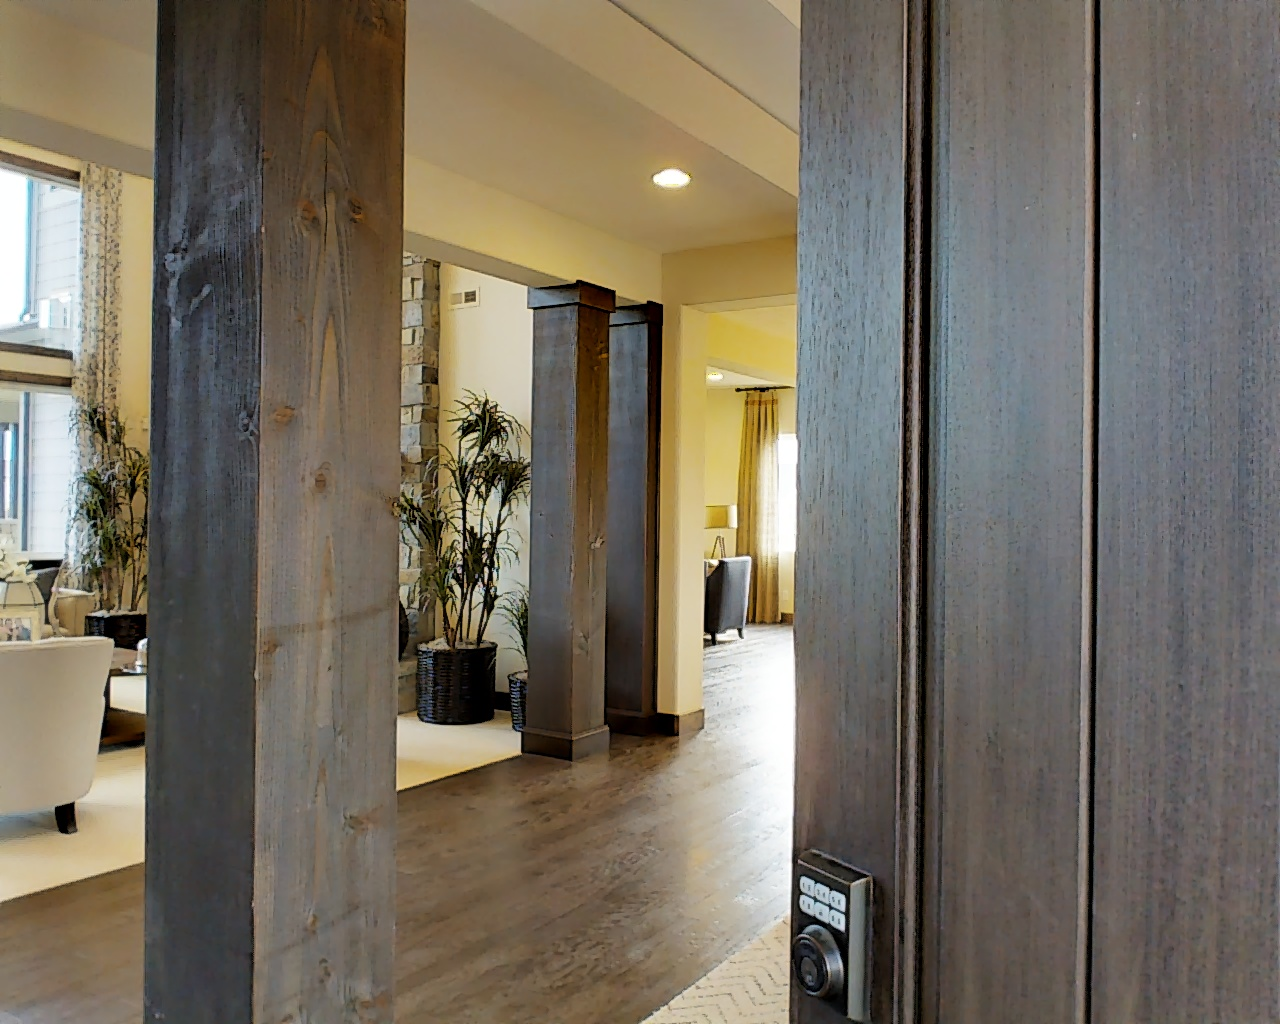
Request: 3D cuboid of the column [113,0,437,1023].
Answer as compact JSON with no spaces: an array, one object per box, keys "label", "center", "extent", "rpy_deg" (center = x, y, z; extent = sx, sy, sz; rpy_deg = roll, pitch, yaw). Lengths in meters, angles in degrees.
[{"label":"column","center":[-0.680,0.040,2.020],"extent":[0.410,2.680,0.390],"rpy_deg":[0,-1,33]}]
